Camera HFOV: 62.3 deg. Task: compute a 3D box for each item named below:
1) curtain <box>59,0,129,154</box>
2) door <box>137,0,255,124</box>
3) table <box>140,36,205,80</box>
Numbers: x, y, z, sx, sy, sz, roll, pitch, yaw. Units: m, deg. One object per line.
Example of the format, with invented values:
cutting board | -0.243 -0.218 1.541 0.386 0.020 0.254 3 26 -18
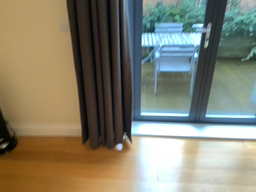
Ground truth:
curtain | -0.230 -0.550 1.630 0.450 2.400 0.290 1 29 3
door | 0.880 -0.670 2.010 1.570 2.190 0.140 0 29 2
table | 0.740 -0.720 3.890 1.030 0.600 0.690 1 29 2
